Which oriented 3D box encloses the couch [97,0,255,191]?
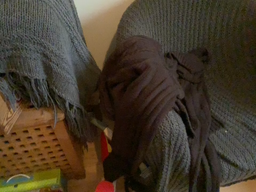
[{"bbox_3d":[0.370,-0.030,0.970,0.810,0.670,0.760,-13,47,-11],"label":"couch"}]
